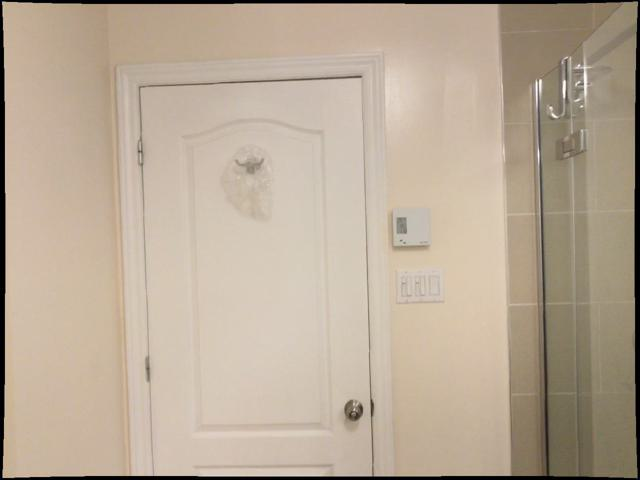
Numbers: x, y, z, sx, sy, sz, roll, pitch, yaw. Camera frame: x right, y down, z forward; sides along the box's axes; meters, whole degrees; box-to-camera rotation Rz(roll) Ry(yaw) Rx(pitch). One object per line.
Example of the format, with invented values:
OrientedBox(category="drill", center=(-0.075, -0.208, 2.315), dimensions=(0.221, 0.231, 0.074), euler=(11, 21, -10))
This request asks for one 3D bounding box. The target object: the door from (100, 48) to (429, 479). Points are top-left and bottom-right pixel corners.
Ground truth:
OrientedBox(category="door", center=(-0.200, 0.420, 1.930), dimensions=(1.039, 2.062, 0.080), euler=(2, 2, 2))
